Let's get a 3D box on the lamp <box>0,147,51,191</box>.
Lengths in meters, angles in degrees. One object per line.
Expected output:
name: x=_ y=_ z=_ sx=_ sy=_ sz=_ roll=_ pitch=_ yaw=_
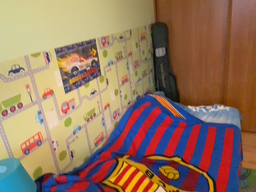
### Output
lamp: x=-0.490 y=0.400 z=0.900 sx=0.190 sy=0.260 sz=0.210 roll=5 pitch=23 yaw=26
